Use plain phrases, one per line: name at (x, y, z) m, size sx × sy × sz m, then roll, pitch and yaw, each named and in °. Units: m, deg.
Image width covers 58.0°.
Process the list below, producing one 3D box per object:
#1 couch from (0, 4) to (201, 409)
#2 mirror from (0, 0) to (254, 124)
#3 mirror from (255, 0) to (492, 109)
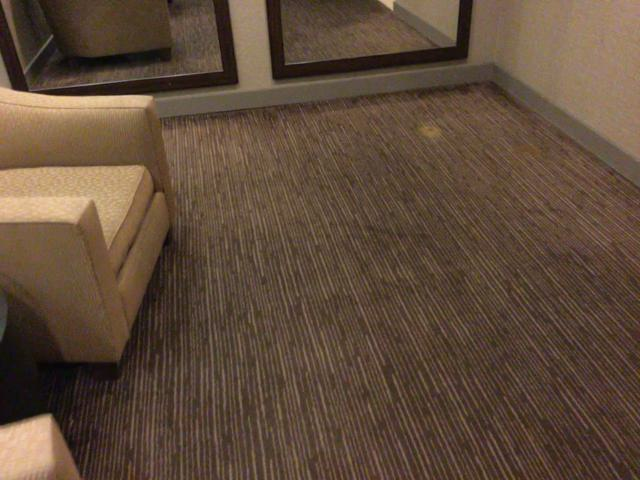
couch at (-1.000, -0.140, 1.800) m, size 0.930 × 0.940 × 0.890 m, roll -6°, pitch 26°, yaw 2°
mirror at (-1.050, -1.240, 2.920) m, size 1.260 × 1.100 × 0.170 m, roll -11°, pitch 32°, yaw -7°
mirror at (0.280, -1.410, 3.100) m, size 1.280 × 1.240 × 0.160 m, roll -8°, pitch 32°, yaw -3°
